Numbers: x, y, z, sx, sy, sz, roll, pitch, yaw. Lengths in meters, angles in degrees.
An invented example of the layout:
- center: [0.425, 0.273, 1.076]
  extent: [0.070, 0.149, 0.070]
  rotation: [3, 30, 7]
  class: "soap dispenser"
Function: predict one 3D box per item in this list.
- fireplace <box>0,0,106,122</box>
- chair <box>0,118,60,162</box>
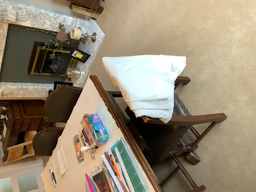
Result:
- center: [-1.250, -0.450, 2.830]
  extent: [1.570, 1.210, 0.680]
  rotation: [-56, 52, 33]
  class: "fireplace"
- center: [-1.740, 0.740, 3.740]
  extent: [0.510, 0.840, 0.410]
  rotation: [53, 128, 34]
  class: "chair"
